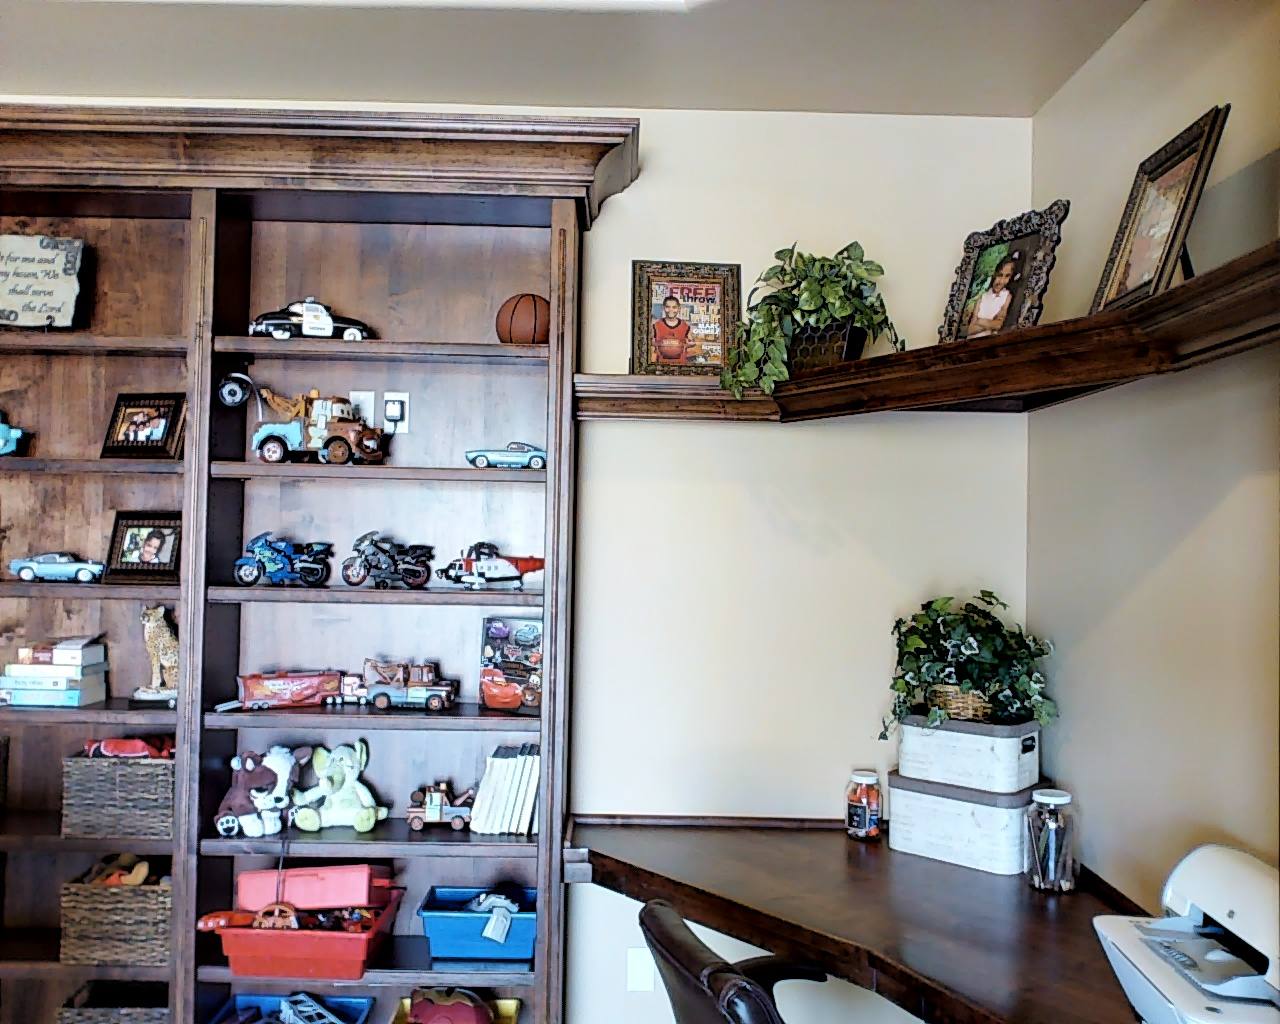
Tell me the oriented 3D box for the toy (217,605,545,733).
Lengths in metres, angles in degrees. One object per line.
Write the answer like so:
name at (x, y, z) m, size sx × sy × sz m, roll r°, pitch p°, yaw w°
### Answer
toy at (-0.670, 0.410, 2.830) m, size 0.810 × 0.290 × 0.220 m, roll 1°, pitch -1°, yaw 0°

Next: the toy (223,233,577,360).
toy at (-0.620, -0.570, 2.860) m, size 0.880 × 0.260 × 0.270 m, roll 1°, pitch -1°, yaw 0°

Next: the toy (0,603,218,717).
toy at (-1.620, 0.380, 2.820) m, size 0.890 × 0.250 × 0.280 m, roll 1°, pitch -1°, yaw 1°

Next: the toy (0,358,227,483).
toy at (-1.600, -0.240, 2.830) m, size 0.890 × 0.290 × 0.280 m, roll 1°, pitch -1°, yaw -2°

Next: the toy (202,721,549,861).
toy at (-0.680, 0.730, 2.820) m, size 0.850 × 0.290 × 0.240 m, roll 1°, pitch -1°, yaw 0°

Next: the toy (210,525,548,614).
toy at (-0.680, 0.150, 2.850) m, size 0.850 × 0.210 × 0.200 m, roll 1°, pitch -1°, yaw -1°
